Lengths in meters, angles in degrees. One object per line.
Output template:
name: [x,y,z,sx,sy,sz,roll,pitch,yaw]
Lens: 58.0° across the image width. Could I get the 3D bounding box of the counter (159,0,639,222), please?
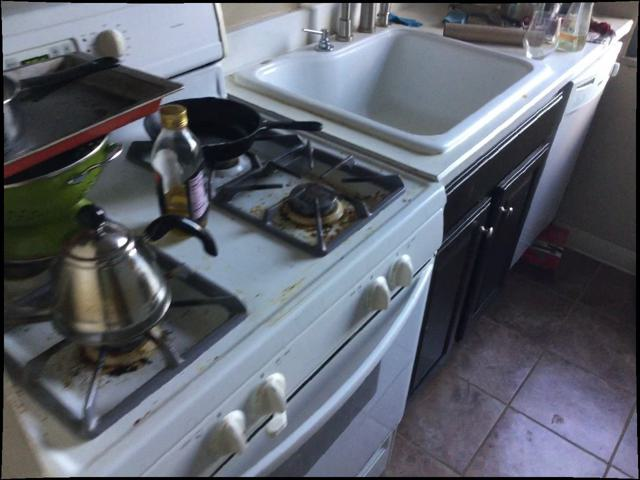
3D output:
counter: [0.339,-0.561,1.520,0.649,0.180,1.360,27,45,28]
